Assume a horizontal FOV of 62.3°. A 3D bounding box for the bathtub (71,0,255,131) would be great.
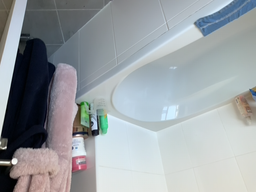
[{"bbox_3d":[0.590,-0.430,1.240,1.750,0.560,0.900,-28,145,30],"label":"bathtub"}]
